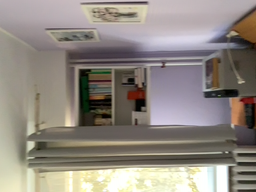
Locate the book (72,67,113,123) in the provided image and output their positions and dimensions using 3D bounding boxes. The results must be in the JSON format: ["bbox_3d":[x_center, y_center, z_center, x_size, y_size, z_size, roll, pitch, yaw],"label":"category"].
[{"bbox_3d":[-0.300,0.000,1.880,0.260,0.320,0.460,100,170,-87],"label":"book"}]
